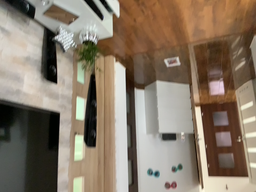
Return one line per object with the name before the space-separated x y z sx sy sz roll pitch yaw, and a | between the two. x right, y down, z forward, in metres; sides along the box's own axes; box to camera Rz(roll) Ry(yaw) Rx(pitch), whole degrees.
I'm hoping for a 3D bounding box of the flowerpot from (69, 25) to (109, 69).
flowerpot | -0.320 -0.400 1.790 0.230 0.250 0.240 -6 165 20
